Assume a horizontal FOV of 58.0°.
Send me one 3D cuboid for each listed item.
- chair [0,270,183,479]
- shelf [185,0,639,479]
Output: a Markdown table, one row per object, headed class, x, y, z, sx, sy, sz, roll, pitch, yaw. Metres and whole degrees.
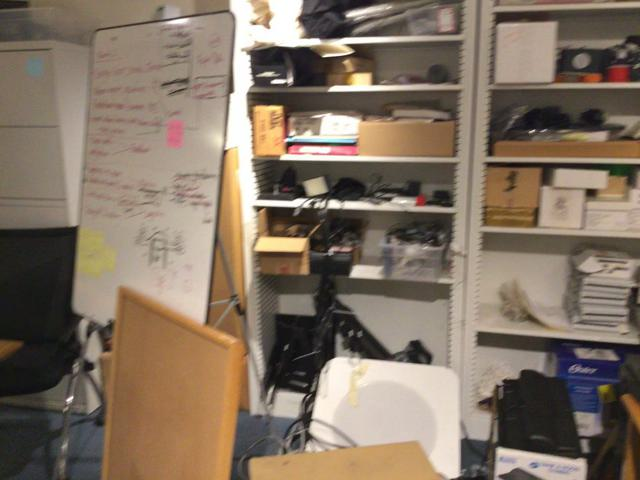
| class | x | y | z | sx | sy | sz | roll | pitch | yaw |
| --- | --- | --- | --- | --- | --- | --- | --- | --- | --- |
| chair | -0.980 | 0.660 | 2.310 | 0.620 | 0.950 | 0.610 | -1 | 11 | 4 |
| shelf | 0.570 | -0.140 | 2.320 | 2.050 | 2.000 | 0.540 | 1 | 11 | 17 |
